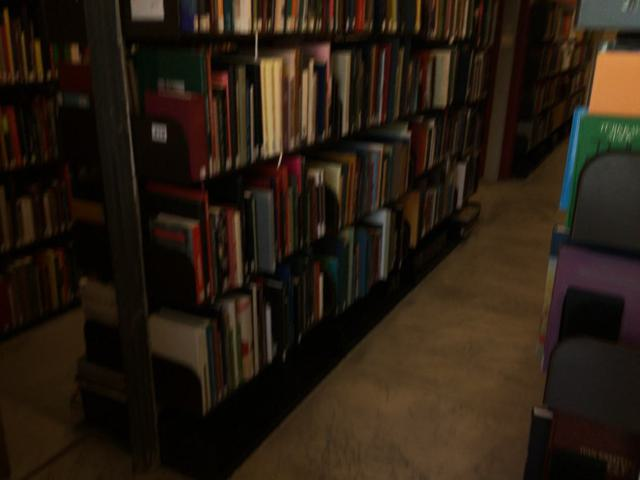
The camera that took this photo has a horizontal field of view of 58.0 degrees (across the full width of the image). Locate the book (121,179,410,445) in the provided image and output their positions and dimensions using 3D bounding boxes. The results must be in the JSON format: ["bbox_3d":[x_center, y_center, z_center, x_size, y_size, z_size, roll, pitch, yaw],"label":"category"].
[{"bbox_3d":[-0.090,0.160,2.420,0.390,0.480,1.480,10,23,28],"label":"book"}]

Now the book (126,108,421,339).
[{"bbox_3d":[-0.030,-0.200,2.380,0.310,0.470,1.630,10,23,28],"label":"book"}]

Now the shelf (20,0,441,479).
[{"bbox_3d":[-0.110,-0.270,2.360,0.580,1.860,1.760,10,23,28],"label":"shelf"}]

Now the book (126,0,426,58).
[{"bbox_3d":[-0.020,-0.900,2.070,0.290,0.400,1.510,10,23,28],"label":"book"}]

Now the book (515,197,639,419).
[{"bbox_3d":[0.620,0.140,1.260,0.300,0.400,0.190,10,23,28],"label":"book"}]

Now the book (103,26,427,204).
[{"bbox_3d":[-0.050,-0.590,2.280,0.390,0.460,1.590,10,23,28],"label":"book"}]
